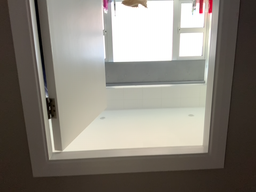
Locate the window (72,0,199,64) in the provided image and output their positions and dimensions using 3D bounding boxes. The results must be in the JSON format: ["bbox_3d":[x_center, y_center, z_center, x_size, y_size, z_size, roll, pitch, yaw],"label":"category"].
[{"bbox_3d":[0.130,-1.030,3.320,1.910,0.980,0.080,-2,-166,-2],"label":"window"}]
